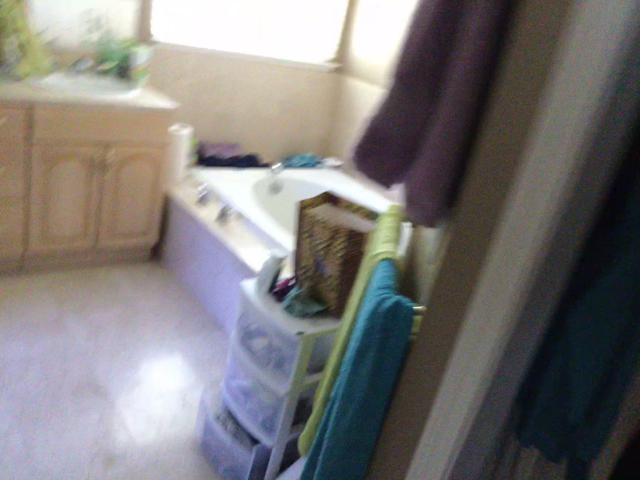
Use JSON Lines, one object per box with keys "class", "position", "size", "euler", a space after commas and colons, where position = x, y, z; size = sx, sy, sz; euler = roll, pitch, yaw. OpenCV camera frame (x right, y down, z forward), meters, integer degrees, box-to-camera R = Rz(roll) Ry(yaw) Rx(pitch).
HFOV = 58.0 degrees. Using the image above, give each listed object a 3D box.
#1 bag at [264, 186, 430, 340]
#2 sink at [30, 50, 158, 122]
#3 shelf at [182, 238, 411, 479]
{"class": "bag", "position": [0.070, 0.050, 1.730], "size": [0.270, 0.320, 0.330], "euler": [-5, 30, -42]}
{"class": "sink", "position": [-1.050, -0.710, 2.680], "size": [0.420, 0.170, 0.420], "euler": [-5, 30, -42]}
{"class": "shelf", "position": [-0.100, 0.410, 1.890], "size": [0.430, 0.690, 0.420], "euler": [-5, 30, -42]}
